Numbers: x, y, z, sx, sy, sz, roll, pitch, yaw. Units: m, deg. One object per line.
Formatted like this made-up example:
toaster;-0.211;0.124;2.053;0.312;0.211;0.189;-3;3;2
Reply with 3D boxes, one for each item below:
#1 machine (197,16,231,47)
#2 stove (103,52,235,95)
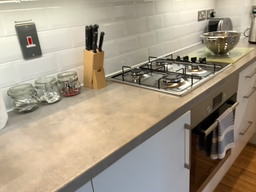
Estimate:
machine;0.850;-0.640;2.090;0.190;0.250;0.310;16;31;42
stove;0.250;-0.170;1.260;0.530;0.030;0.590;16;30;41
